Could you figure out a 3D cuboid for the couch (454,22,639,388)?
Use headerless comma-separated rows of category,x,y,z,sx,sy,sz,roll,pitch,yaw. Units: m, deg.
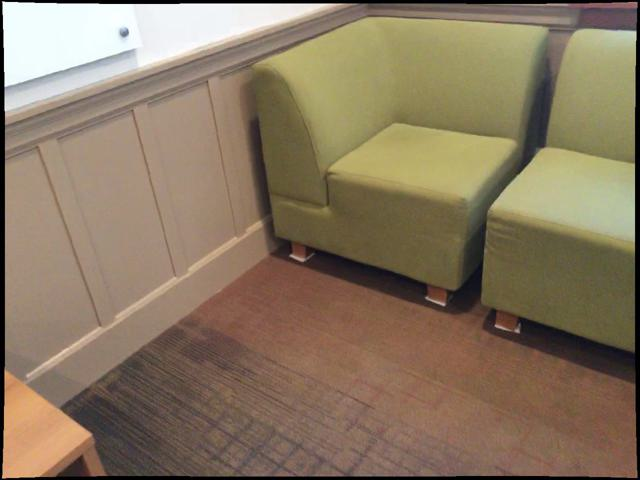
couch,0.997,-0.150,1.760,0.849,0.781,0.850,16,38,33

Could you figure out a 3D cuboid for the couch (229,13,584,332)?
couch,0.349,-0.351,2.200,0.919,0.791,0.860,16,38,33
